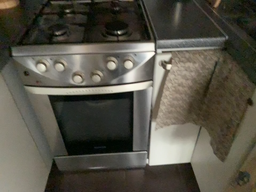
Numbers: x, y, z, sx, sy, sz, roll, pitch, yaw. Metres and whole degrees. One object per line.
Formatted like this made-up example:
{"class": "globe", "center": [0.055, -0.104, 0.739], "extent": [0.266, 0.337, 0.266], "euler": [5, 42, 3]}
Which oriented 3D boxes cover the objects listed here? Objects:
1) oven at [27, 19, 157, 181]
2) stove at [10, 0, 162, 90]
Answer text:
{"class": "oven", "center": [-0.150, 0.020, 1.250], "extent": [0.480, 0.700, 0.620], "euler": [-3, 41, -3]}
{"class": "stove", "center": [-0.150, -0.300, 0.960], "extent": [0.480, 0.170, 0.620], "euler": [-3, 41, -3]}
